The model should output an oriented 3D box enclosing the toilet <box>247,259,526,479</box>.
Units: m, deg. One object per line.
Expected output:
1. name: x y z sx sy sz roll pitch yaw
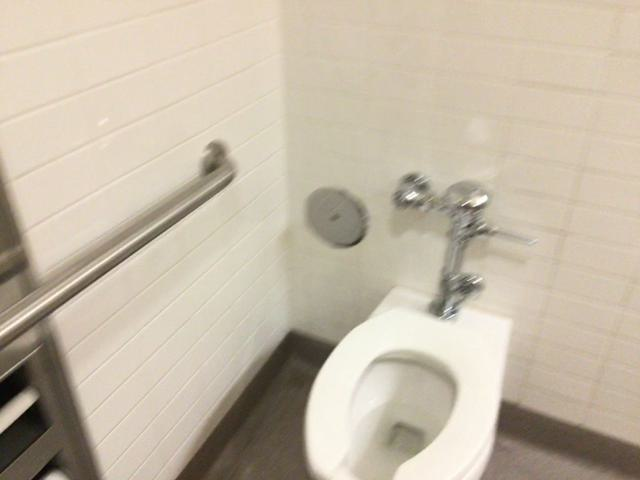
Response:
1. toilet: 0.170 0.350 1.240 0.390 0.290 0.610 18 29 17
